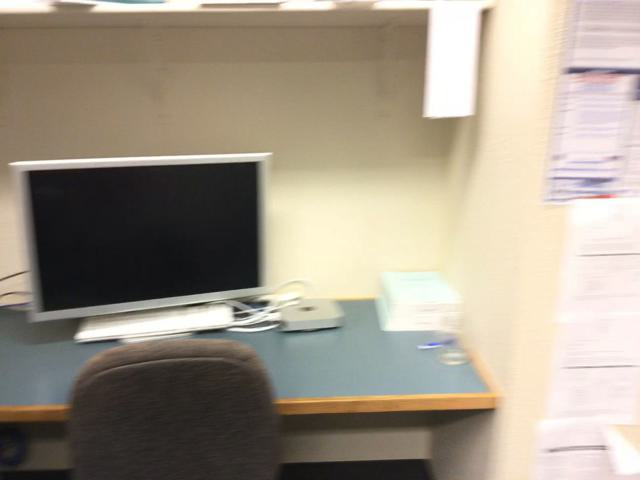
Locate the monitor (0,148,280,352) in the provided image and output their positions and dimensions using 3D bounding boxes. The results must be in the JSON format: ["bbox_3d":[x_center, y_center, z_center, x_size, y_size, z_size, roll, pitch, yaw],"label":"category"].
[{"bbox_3d":[-0.490,0.010,1.740,0.700,0.530,0.320,-2,11,-1],"label":"monitor"}]
